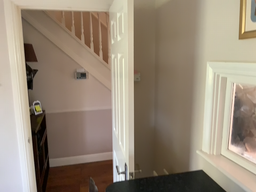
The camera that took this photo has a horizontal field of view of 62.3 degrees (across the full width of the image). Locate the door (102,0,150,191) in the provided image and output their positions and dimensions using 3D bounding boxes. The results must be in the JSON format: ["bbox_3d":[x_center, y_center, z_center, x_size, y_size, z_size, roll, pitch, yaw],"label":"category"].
[{"bbox_3d":[-0.040,0.260,1.610,0.160,1.980,0.750,-3,11,-13],"label":"door"}]
